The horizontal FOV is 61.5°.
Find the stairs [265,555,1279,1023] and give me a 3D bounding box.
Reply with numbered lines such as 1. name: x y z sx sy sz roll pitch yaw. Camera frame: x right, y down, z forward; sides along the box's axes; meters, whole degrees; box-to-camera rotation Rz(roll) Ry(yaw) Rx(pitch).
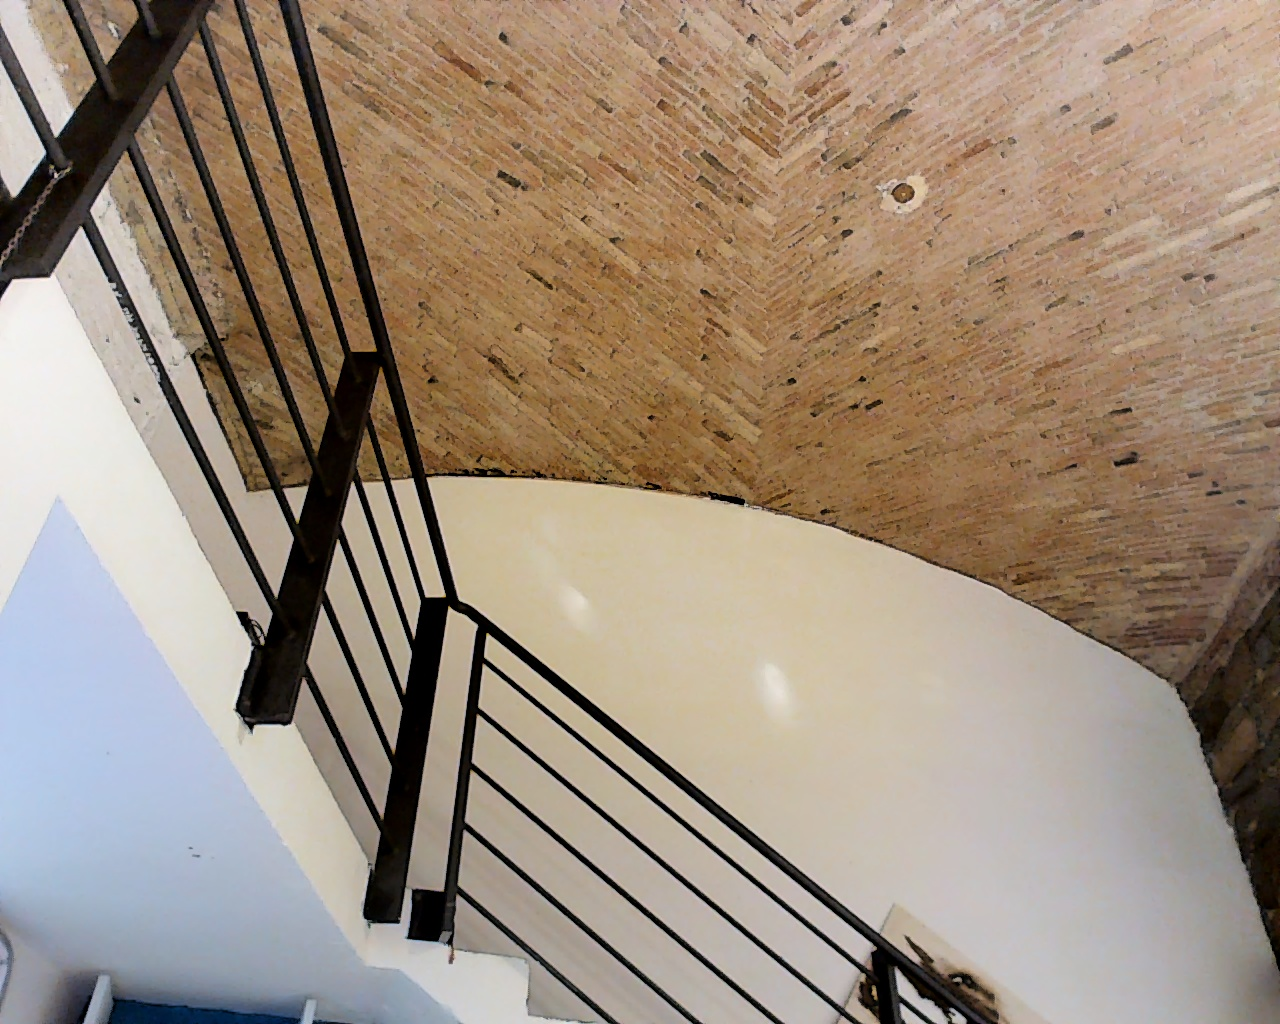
1. stairs: 0.730 2.341 3.430 3.959 3.791 1.050 13 -43 -13
